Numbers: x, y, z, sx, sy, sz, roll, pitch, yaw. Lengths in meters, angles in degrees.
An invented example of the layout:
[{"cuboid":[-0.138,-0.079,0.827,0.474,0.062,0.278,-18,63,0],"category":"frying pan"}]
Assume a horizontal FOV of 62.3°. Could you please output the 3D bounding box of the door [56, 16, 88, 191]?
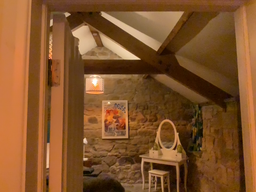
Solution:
[{"cuboid":[-0.260,0.770,1.070,0.040,2.090,0.730,0,-6,-5],"category":"door"}]
